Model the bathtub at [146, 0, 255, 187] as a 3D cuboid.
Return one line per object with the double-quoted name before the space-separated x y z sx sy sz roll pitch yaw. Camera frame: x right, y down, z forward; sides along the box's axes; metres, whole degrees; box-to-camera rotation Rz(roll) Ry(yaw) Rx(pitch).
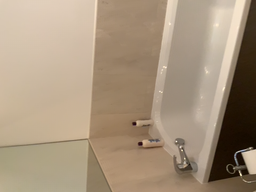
"bathtub" 0.650 -0.350 1.450 0.700 0.560 1.640 -144 57 -61
